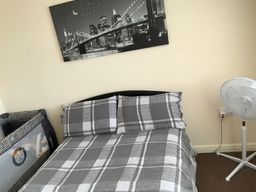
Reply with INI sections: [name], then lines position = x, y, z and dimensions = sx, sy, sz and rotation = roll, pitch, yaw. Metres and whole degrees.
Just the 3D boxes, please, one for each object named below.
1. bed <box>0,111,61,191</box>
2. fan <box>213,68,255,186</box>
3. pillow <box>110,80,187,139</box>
[bed]
position = -1.410, 0.760, 2.300
dimensions = 0.630, 0.710, 1.270
rotation = -7, 17, 14
[fan]
position = 1.070, 0.270, 1.940
dimensions = 0.430, 0.940, 0.470
rotation = -6, 17, 16
[pillow]
position = 0.200, 0.160, 2.130
dimensions = 0.640, 0.400, 0.140
rotation = -25, 30, 22
